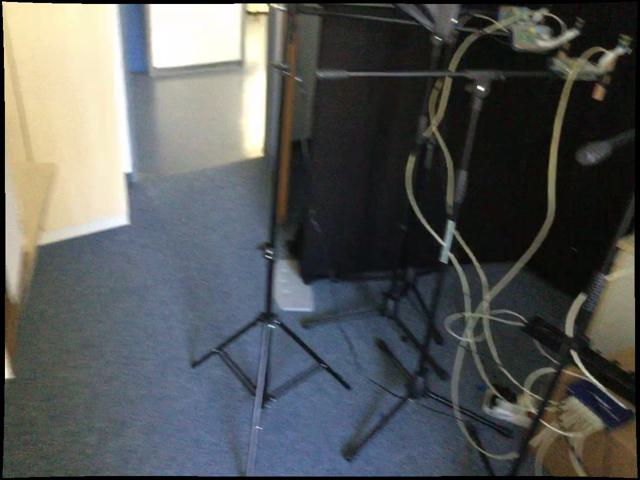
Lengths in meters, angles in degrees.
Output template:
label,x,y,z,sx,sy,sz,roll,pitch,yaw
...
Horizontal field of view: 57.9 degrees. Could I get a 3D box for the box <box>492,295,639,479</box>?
label,x,y,z,sx,sy,sz,roll,pitch,yaw
box,0.909,0.521,1.760,0.490,0.370,0.470,-19,40,-33
